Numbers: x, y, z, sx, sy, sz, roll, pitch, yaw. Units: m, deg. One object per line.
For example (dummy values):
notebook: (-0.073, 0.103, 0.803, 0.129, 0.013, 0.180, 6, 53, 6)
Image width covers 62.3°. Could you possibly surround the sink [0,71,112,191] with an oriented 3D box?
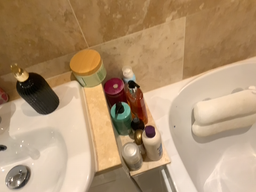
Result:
sink: (-0.330, 0.210, 0.550, 0.520, 0.140, 0.420, -19, 54, -2)
